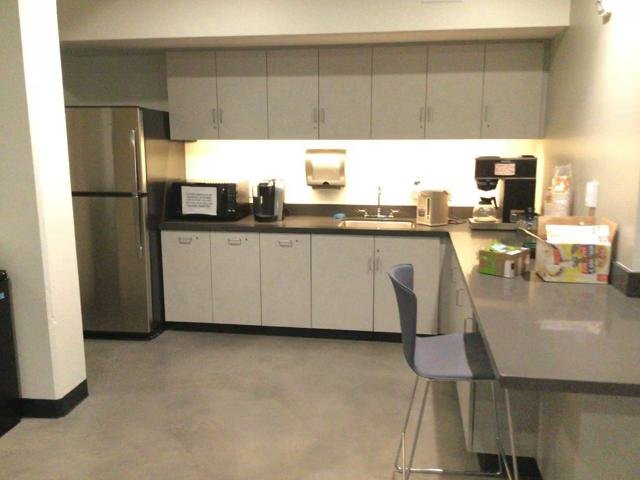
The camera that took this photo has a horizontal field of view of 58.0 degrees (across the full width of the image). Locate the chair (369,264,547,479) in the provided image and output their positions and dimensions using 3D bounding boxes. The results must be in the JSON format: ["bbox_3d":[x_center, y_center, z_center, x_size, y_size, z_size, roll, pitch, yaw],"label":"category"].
[{"bbox_3d":[0.460,0.600,2.100,0.510,0.900,0.570,2,10,9],"label":"chair"}]
